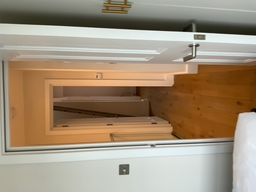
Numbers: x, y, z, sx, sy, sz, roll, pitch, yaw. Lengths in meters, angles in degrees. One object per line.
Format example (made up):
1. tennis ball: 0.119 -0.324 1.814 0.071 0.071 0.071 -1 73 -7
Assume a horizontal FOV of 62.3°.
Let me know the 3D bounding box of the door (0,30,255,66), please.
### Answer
1. door: 0.120 -0.270 1.380 0.810 2.040 0.030 -170 80 -80
